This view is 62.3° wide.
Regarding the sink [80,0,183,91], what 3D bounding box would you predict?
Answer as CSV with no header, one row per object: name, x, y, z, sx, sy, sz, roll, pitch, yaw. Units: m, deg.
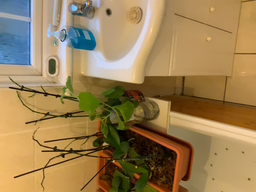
sink,-0.010,-0.330,0.840,0.420,0.150,0.560,13,103,46

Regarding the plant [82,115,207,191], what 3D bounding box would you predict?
plant,0.030,0.450,0.990,0.510,0.250,0.590,13,103,46
